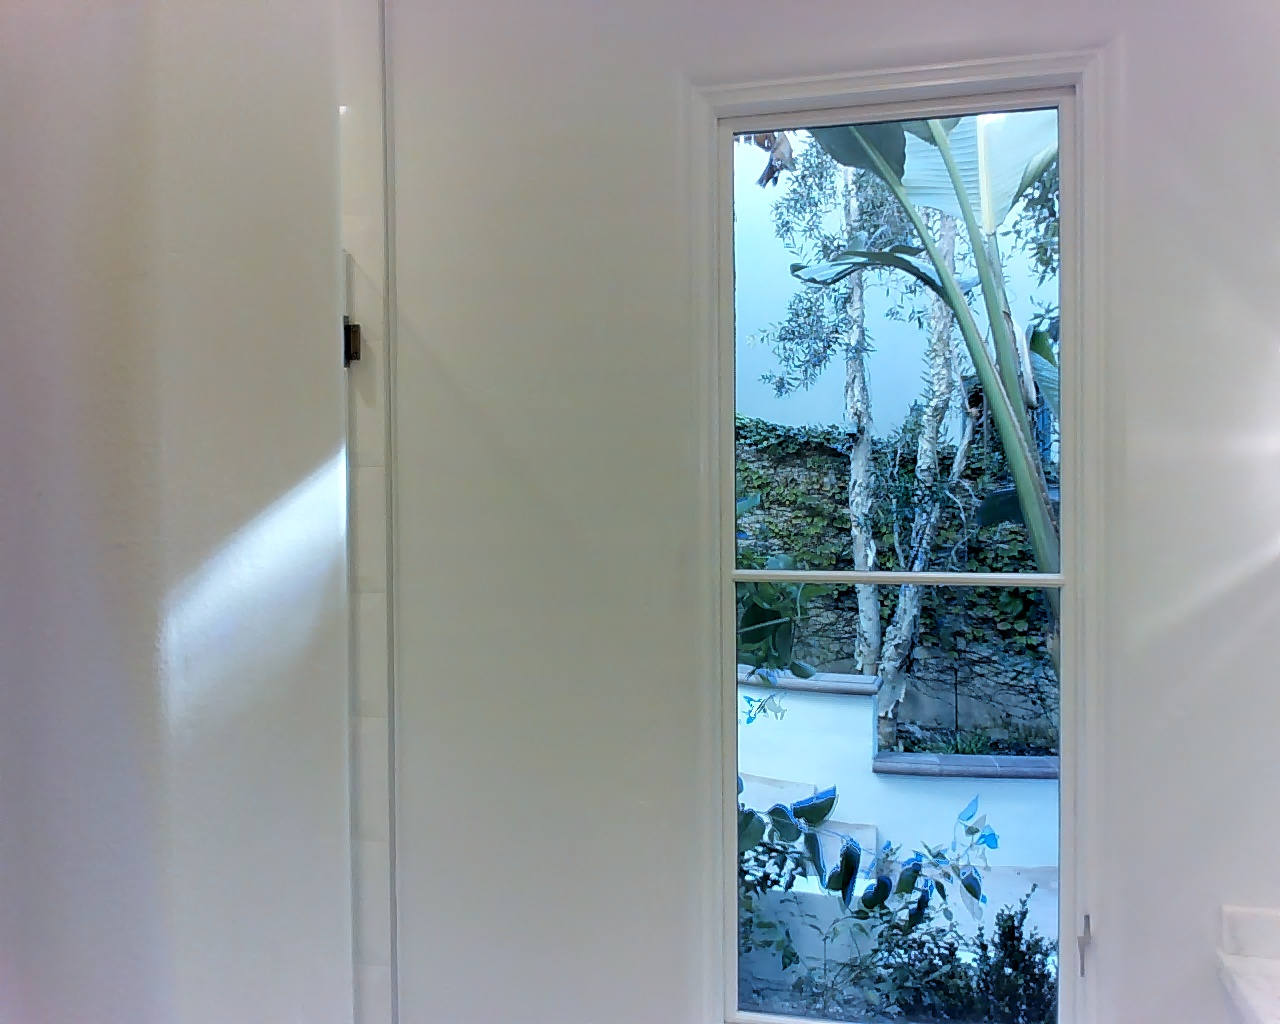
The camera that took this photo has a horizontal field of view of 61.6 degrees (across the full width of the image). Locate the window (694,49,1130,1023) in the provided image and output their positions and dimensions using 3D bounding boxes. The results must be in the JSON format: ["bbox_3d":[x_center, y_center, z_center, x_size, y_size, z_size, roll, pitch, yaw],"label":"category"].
[{"bbox_3d":[0.490,0.160,2.000,0.750,1.891,0.140,0,0,16],"label":"window"}]
